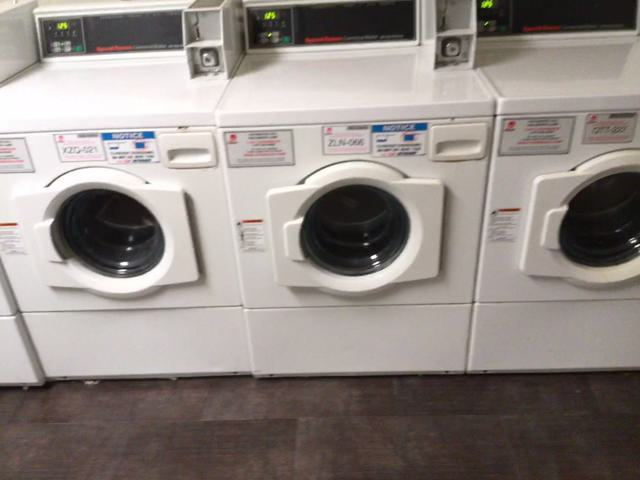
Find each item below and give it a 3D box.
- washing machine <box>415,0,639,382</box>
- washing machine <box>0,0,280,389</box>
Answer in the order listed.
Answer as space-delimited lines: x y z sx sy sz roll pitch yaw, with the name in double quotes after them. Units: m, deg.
0.740 -0.270 1.870 0.690 1.030 0.880 -6 29 3 "washing machine"
-0.560 -0.200 1.890 0.670 1.040 0.750 -7 29 2 "washing machine"
